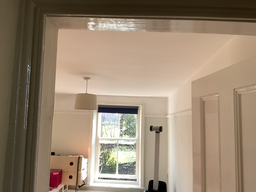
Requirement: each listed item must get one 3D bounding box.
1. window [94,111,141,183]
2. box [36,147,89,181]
[{"bbox_3d":[-0.220,1.110,4.850,0.980,1.510,0.430,1,-6,5],"label":"window"},{"bbox_3d":[-1.230,1.290,4.130,0.790,0.480,0.680,1,-6,2],"label":"box"}]
